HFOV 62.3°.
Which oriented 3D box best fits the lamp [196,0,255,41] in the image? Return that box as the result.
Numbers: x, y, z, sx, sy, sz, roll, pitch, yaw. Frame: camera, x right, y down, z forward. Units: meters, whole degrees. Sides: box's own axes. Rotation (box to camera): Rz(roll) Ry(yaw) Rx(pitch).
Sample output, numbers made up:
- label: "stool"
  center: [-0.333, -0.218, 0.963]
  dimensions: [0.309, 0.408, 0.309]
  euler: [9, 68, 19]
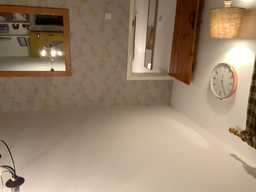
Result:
- label: "lamp"
  center: [0.910, -0.880, 1.930]
  dimensions: [0.360, 0.710, 0.280]
  euler: [-2, -162, -14]
